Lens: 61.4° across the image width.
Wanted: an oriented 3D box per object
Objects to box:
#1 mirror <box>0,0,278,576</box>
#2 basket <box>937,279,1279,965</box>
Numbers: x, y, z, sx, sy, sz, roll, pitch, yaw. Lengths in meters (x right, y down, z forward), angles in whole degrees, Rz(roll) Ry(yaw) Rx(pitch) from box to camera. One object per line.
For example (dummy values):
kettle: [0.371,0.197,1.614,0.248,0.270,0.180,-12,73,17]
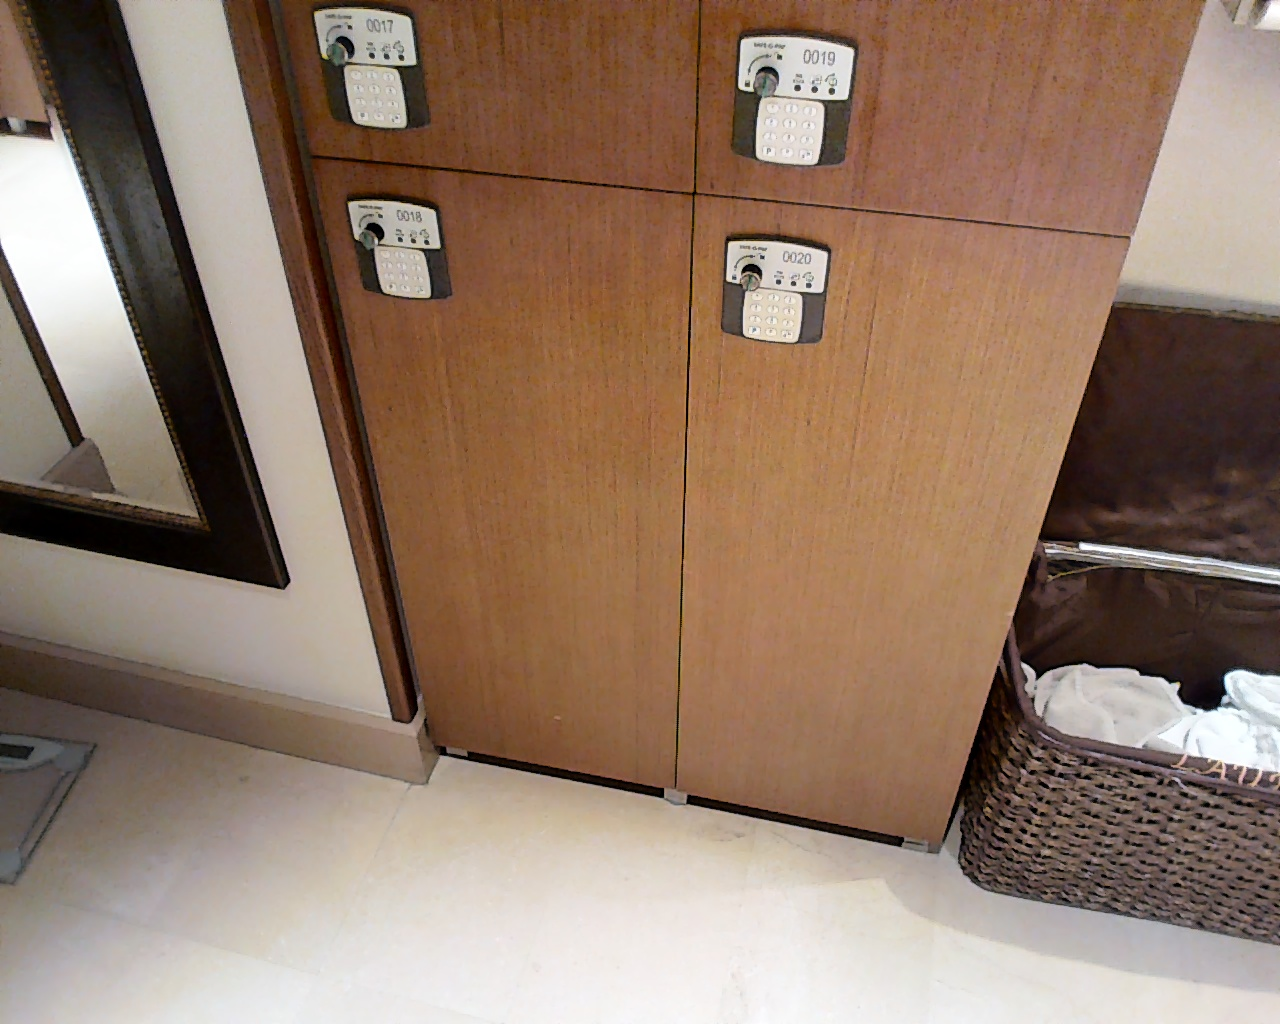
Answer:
mirror: [-0.900,-0.520,1.220,0.700,1.450,0.050,10,43,11]
basket: [0.870,0.190,1.610,0.670,0.830,0.530,9,43,10]
